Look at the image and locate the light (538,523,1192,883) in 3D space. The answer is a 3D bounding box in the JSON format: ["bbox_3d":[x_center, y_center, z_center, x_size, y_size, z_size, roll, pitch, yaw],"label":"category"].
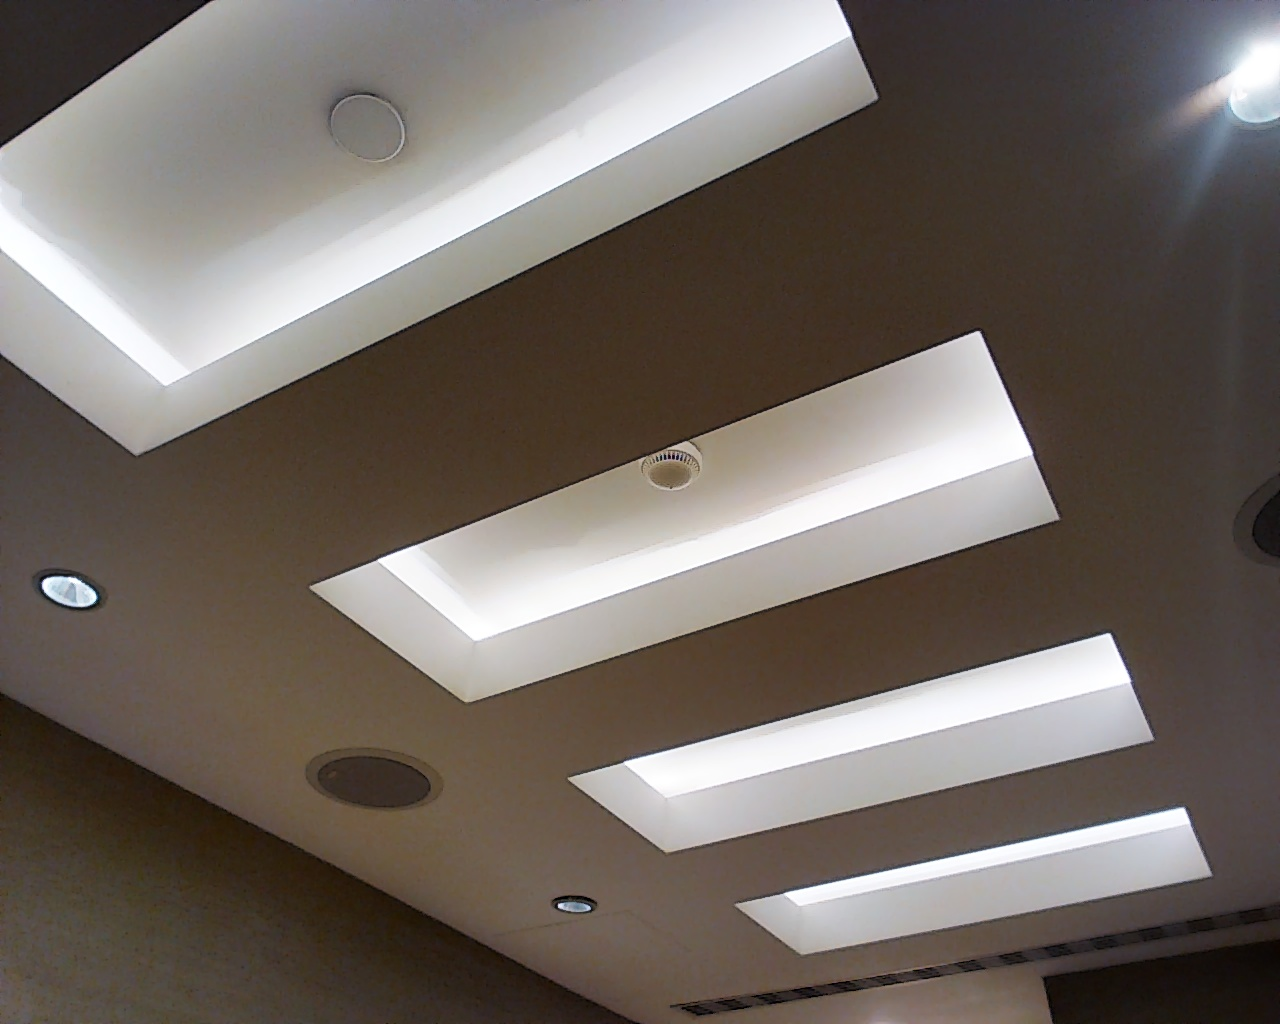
[{"bbox_3d":[0.410,0.420,2.070,1.090,0.210,0.520,-20,-45,22],"label":"light"}]

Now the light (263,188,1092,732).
[{"bbox_3d":[0.040,0.000,1.610,1.080,0.200,0.510,-20,-45,22],"label":"light"}]

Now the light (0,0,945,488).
[{"bbox_3d":[-0.310,-0.420,1.120,1.100,0.210,0.470,-20,-45,22],"label":"light"}]

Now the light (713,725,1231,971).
[{"bbox_3d":[0.750,0.820,2.520,1.060,0.210,0.450,-20,-45,22],"label":"light"}]
